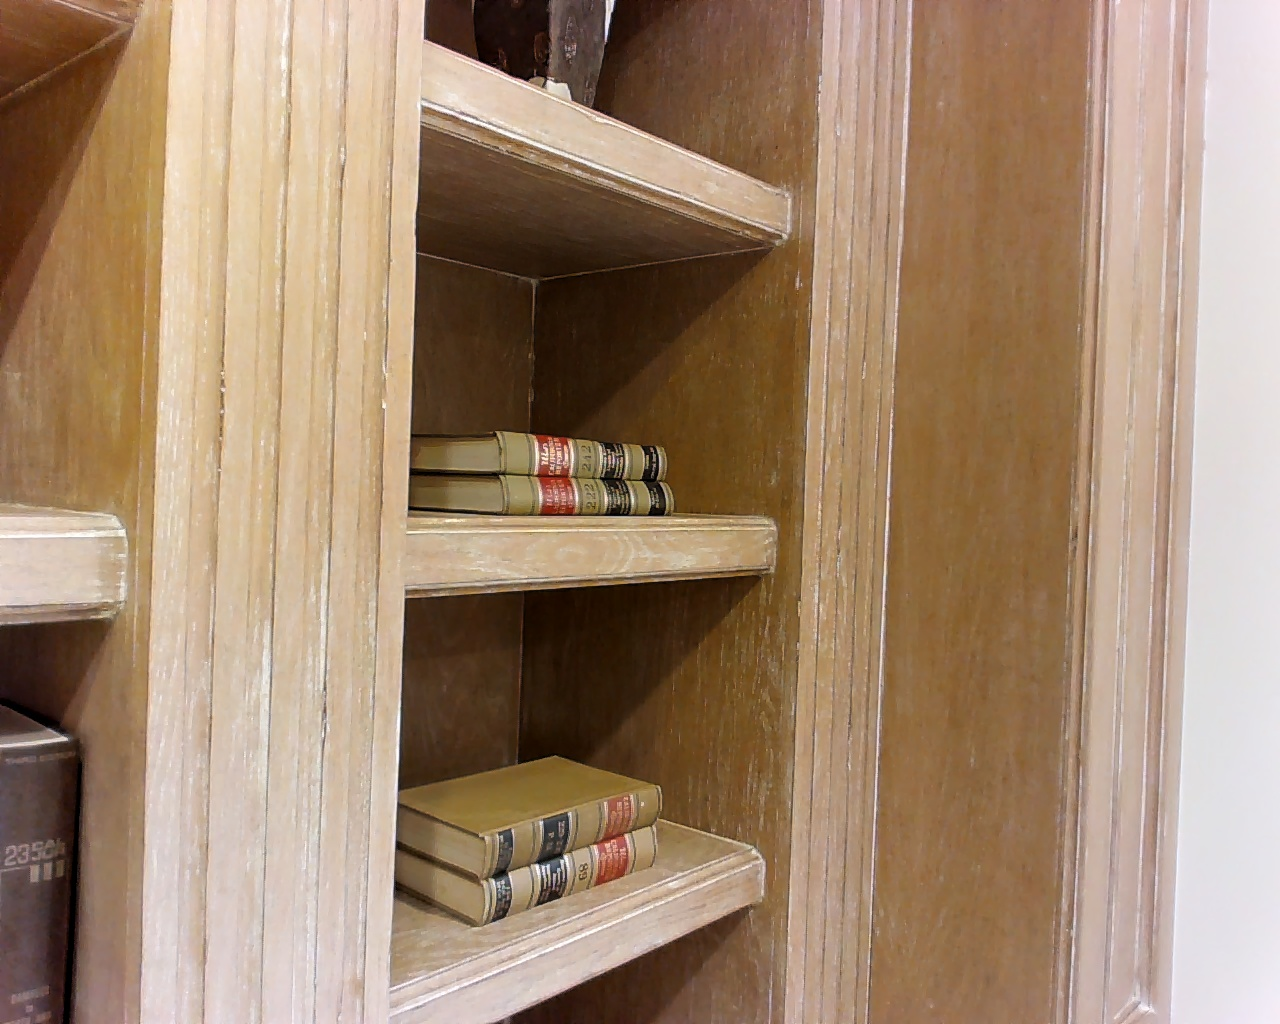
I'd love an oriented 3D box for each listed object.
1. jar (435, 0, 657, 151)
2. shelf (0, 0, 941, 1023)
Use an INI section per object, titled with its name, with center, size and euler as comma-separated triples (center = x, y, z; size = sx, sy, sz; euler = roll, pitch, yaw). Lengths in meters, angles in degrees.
[jar]
center = -0.100, -0.580, 1.240
size = 0.160, 0.240, 0.230
euler = 3, 1, 23
[shelf]
center = -0.810, -0.220, 0.490
size = 0.560, 2.061, 2.970
euler = 3, 1, 41
